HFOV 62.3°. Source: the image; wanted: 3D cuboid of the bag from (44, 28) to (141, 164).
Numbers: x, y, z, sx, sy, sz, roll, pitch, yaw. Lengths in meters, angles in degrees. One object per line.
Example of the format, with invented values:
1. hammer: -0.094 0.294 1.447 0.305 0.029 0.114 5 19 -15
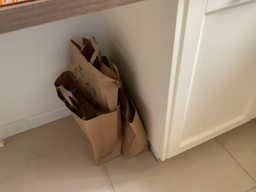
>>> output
1. bag: -0.170 -0.010 1.090 0.270 0.450 0.460 -23 48 -18
